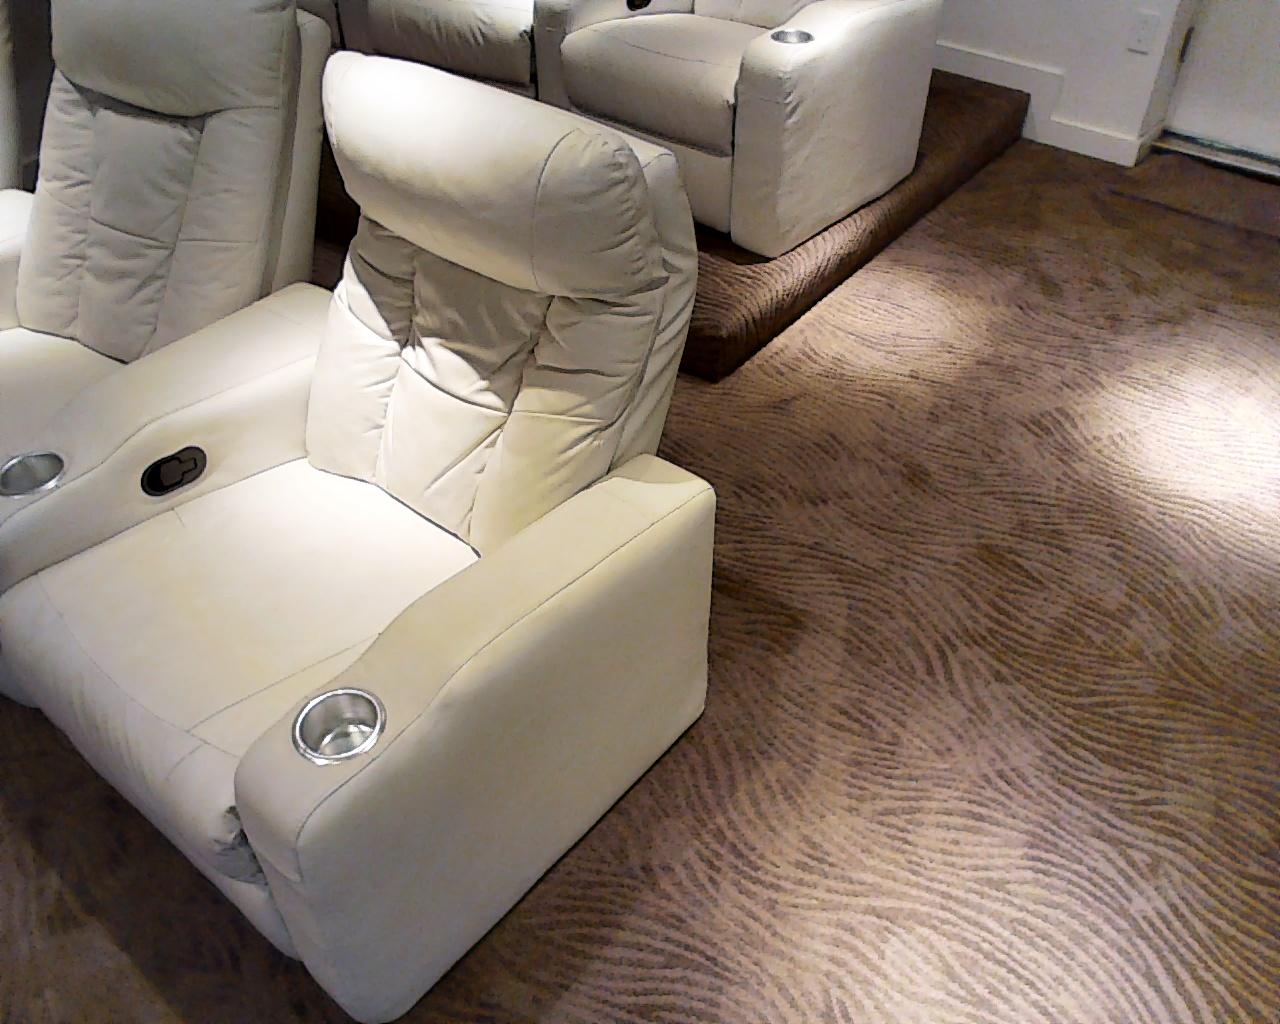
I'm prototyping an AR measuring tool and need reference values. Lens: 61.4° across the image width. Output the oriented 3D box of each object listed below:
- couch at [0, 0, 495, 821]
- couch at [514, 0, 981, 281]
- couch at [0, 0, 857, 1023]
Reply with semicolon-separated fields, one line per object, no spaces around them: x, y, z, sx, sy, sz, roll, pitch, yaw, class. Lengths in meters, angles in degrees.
-1.020;-0.360;1.970;0.930;1.040;1.130;21;45;22;couch
0.320;-1.450;2.990;0.890;1.070;1.000;28;48;29;couch
-0.380;-0.030;1.600;0.830;1.050;1.040;29;48;29;couch
